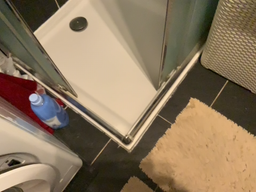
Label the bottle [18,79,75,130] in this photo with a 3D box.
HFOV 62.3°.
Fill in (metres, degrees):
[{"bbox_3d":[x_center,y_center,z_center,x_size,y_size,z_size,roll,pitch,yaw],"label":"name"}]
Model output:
[{"bbox_3d":[-0.370,0.050,1.000,0.130,0.240,0.110,29,71,16],"label":"bottle"}]
